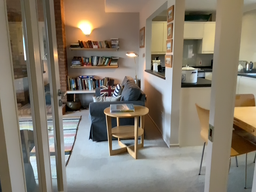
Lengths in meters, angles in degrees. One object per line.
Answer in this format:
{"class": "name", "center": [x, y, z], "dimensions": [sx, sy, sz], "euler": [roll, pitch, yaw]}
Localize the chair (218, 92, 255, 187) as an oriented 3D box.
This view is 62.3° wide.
{"class": "chair", "center": [1.320, 0.430, 2.290], "dimensions": [0.370, 0.850, 0.510], "euler": [-2, 12, -9]}
